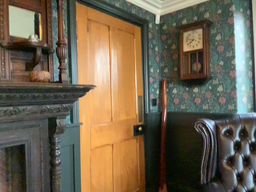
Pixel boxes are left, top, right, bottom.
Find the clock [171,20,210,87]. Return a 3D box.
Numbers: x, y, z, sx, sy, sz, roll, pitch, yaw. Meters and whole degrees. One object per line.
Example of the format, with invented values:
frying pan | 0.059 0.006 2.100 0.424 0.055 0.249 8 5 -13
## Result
clock | 0.680 -0.440 2.330 0.370 0.660 0.120 -2 0 44
